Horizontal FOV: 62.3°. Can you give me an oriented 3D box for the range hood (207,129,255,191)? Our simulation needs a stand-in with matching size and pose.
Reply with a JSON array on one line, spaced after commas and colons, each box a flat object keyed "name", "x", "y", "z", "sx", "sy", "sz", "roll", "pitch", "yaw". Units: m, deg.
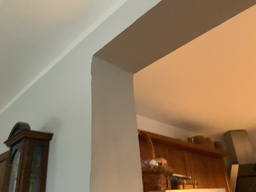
[{"name": "range hood", "x": 1.610, "y": 0.970, "z": 3.060, "sx": 0.580, "sy": 0.870, "sz": 0.420, "roll": 0, "pitch": -26, "yaw": -10}]
